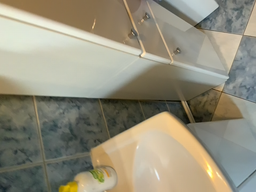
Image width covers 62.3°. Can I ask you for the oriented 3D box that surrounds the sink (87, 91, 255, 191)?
[{"bbox_3d":[0.120,0.310,0.540,0.380,0.140,0.520,-31,66,35],"label":"sink"}]

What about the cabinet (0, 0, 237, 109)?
[{"bbox_3d":[-0.180,-0.200,0.600,0.310,1.920,0.330,-31,66,35],"label":"cabinet"}]
